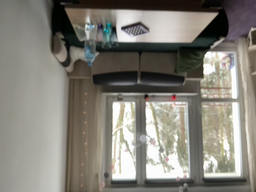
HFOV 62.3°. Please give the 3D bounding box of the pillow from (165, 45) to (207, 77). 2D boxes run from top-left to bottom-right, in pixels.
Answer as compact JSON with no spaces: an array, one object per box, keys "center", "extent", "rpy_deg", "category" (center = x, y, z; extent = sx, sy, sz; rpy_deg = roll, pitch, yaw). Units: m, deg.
[{"center":[0.790,-0.480,2.940],"extent":[0.480,0.400,0.150],"rpy_deg":[2,-145,0],"category":"pillow"}]
